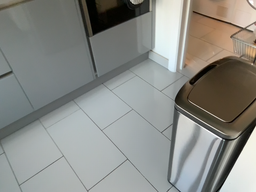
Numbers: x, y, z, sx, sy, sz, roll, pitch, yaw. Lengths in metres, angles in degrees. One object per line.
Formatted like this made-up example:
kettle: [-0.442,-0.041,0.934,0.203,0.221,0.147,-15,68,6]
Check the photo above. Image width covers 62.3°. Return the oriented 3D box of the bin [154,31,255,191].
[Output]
bin: [0.510,0.140,1.100,0.700,0.660,0.320,-30,49,-23]
